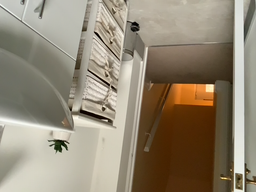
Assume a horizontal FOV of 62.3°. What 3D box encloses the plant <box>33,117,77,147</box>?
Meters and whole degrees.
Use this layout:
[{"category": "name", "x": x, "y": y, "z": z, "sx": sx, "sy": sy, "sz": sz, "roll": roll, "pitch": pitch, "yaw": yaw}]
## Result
[{"category": "plant", "x": -0.380, "y": 0.190, "z": 1.120, "sx": 0.150, "sy": 0.130, "sz": 0.130, "roll": 3, "pitch": 167, "yaw": 19}]
